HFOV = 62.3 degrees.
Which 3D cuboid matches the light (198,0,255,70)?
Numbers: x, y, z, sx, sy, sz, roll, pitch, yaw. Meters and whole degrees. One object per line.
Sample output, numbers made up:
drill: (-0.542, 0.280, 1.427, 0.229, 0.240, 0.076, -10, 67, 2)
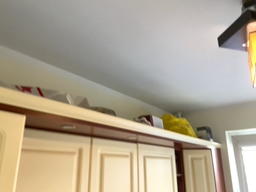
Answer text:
light: (0.510, -0.300, 0.830, 0.300, 0.260, 0.210, -29, -95, -28)
